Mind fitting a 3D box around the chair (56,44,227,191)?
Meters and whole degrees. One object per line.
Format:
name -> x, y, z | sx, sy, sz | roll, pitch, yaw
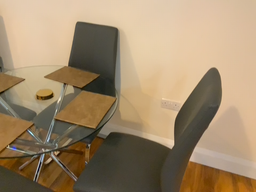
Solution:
chair -> 0.060, 0.340, 1.120 | 0.560, 1.030, 0.470 | 13, 32, 15
